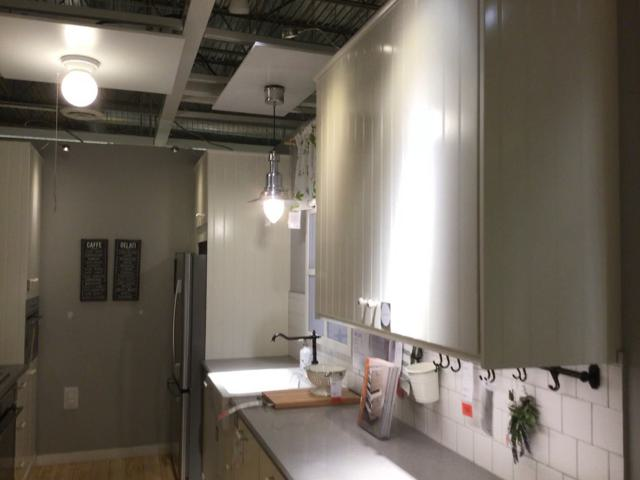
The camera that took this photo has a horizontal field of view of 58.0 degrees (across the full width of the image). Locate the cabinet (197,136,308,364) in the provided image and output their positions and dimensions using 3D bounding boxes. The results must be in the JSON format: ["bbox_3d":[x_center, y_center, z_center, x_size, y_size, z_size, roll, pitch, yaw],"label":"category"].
[{"bbox_3d":[-0.560,0.070,4.480,0.640,1.570,0.890,-2,-2,-17],"label":"cabinet"}]

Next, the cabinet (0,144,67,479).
[{"bbox_3d":[-2.060,0.670,3.420,0.680,2.220,2.110,-2,-2,-16],"label":"cabinet"}]

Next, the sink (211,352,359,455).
[{"bbox_3d":[-0.220,0.860,3.170,0.660,0.330,0.660,-2,-2,-17],"label":"sink"}]

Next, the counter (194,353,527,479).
[{"bbox_3d":[-0.070,0.810,2.630,0.760,0.090,2.990,-2,-2,-17],"label":"counter"}]
